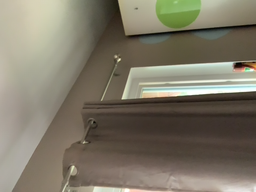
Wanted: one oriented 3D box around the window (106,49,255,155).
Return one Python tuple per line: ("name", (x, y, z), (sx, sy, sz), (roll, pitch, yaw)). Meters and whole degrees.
("window", (0.390, -0.020, 1.190), (0.710, 0.870, 0.090), (-74, -22, -45))
